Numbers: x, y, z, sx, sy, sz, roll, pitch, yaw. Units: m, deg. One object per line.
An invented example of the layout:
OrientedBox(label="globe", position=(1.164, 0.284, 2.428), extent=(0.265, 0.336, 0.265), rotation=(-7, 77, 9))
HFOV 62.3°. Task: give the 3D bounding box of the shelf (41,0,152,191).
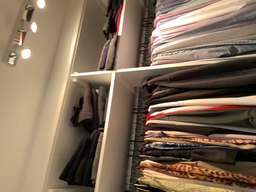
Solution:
OrientedBox(label="shelf", position=(-0.110, -0.430, 1.710), extent=(0.490, 0.390, 2.380), rotation=(37, -125, -59))
